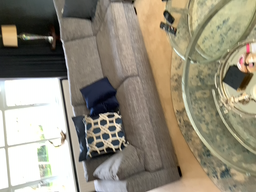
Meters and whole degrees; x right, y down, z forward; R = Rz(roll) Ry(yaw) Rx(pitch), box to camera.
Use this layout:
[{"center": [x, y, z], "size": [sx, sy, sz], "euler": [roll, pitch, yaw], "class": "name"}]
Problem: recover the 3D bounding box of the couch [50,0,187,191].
[{"center": [-0.390, -0.540, 2.870], "size": [1.230, 0.790, 3.360], "euler": [-37, 62, 57], "class": "couch"}]
